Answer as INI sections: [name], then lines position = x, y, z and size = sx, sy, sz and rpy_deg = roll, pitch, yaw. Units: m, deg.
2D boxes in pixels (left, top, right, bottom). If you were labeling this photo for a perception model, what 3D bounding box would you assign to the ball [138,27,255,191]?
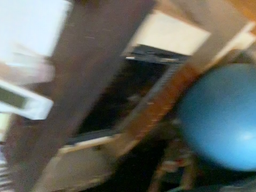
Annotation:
[ball]
position = 0.540, 0.120, 1.130
size = 0.620, 0.530, 0.570
rpy_deg = -38, 65, 38
